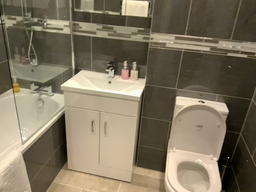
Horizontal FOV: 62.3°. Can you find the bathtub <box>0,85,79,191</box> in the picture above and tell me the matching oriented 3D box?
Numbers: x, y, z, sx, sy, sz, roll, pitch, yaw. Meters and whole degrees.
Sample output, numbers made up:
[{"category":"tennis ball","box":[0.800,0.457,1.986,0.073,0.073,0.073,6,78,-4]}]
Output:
[{"category":"bathtub","box":[-1.000,0.540,1.500,0.680,0.590,1.680,8,25,7]}]
